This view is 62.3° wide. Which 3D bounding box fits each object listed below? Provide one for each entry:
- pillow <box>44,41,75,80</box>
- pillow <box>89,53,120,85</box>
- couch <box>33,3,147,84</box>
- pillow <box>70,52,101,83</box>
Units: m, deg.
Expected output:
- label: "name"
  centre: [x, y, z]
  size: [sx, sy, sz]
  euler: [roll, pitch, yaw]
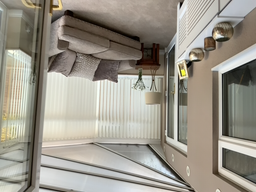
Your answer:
- label: "pillow"
  centre: [-1.200, -0.650, 3.790]
  size: [0.190, 0.560, 0.490]
  euler: [10, -152, 20]
- label: "pillow"
  centre: [-0.490, -0.560, 4.440]
  size: [0.620, 0.590, 0.230]
  euler: [-3, -143, -9]
- label: "couch"
  centre: [-0.650, -0.810, 4.000]
  size: [1.780, 0.850, 1.070]
  euler: [7, 173, -43]
- label: "pillow"
  centre: [-0.810, -0.570, 4.120]
  size: [0.180, 0.480, 0.570]
  euler: [23, -149, 39]
